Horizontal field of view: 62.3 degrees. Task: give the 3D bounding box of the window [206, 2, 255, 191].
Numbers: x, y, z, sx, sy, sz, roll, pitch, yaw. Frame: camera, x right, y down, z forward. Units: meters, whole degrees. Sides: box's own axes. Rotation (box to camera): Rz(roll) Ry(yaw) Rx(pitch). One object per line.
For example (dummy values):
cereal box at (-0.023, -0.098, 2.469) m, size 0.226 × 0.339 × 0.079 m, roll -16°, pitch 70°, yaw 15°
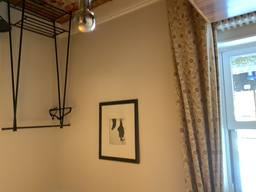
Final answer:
window at (1.200, 0.140, 1.650) m, size 0.940 × 1.720 × 0.430 m, roll -6°, pitch 173°, yaw 37°
